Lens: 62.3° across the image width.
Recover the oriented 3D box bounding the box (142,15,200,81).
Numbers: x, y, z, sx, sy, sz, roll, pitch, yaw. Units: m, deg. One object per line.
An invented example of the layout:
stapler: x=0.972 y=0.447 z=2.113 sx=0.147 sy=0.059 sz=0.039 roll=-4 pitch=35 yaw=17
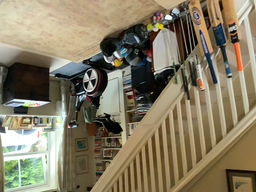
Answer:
box: x=0.520 y=-0.560 z=2.670 sx=0.390 sy=0.590 sz=0.550 roll=5 pitch=167 yaw=-38

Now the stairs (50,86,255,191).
stairs: x=0.520 y=0.750 z=2.760 sx=3.970 sy=0.870 sz=0.780 roll=-18 pitch=123 yaw=39
